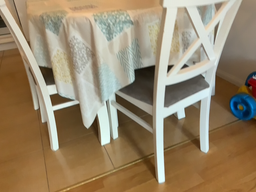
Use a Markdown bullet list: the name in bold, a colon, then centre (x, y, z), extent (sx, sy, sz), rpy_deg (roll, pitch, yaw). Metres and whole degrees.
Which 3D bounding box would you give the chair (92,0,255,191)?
- **chair**: centre (0.170, -0.100, 1.000), extent (0.410, 0.900, 0.500), rpy_deg (-22, 36, -29)

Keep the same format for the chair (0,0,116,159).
- **chair**: centre (-0.410, -0.190, 1.220), extent (0.480, 0.900, 0.420), rpy_deg (-19, 35, -25)
